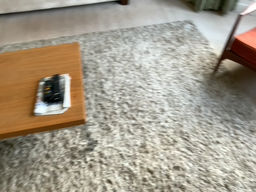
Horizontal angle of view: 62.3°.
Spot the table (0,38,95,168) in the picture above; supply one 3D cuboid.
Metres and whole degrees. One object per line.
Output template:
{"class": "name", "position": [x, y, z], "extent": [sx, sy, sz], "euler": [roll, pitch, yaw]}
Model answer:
{"class": "table", "position": [-0.900, 0.060, 1.530], "extent": [1.190, 0.420, 0.770], "euler": [-9, 51, -7]}
